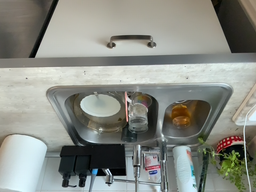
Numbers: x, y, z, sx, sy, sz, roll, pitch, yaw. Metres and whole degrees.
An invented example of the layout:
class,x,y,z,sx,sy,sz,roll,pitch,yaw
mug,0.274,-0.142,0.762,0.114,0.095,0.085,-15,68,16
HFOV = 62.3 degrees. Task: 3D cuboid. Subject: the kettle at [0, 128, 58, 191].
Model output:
class,x,y,z,sx,sy,sz,roll,pitch,yaw
kettle,-0.500,0.330,0.950,0.230,0.260,0.280,-2,143,3
